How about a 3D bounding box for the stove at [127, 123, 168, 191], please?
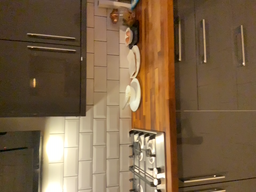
[{"bbox_3d":[0.100,0.510,1.370,0.580,0.030,0.640,165,105,-71],"label":"stove"}]
